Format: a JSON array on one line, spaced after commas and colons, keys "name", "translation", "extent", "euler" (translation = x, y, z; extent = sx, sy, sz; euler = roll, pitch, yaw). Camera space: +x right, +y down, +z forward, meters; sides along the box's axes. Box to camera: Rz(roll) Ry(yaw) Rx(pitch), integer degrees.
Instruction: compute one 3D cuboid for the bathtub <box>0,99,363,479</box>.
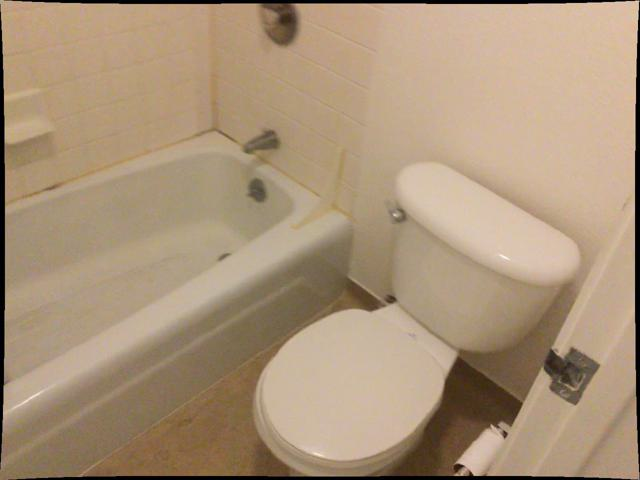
[{"name": "bathtub", "translation": [-0.609, 0.110, 1.730], "extent": [1.289, 0.490, 0.740], "euler": [-29, 51, -35]}]
